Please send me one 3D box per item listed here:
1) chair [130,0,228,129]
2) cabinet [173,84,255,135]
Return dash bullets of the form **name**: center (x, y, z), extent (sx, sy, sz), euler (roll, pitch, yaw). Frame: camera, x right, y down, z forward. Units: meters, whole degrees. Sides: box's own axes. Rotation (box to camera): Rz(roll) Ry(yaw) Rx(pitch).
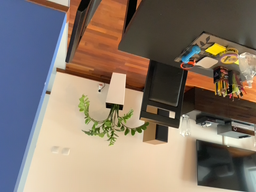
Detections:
- **chair**: center (0.350, -0.360, 1.570), extent (0.400, 1.060, 0.540), euler (13, 158, -15)
- **cabinet**: center (1.750, 0.290, 3.710), extent (1.850, 0.430, 0.500), euler (13, 158, -15)
